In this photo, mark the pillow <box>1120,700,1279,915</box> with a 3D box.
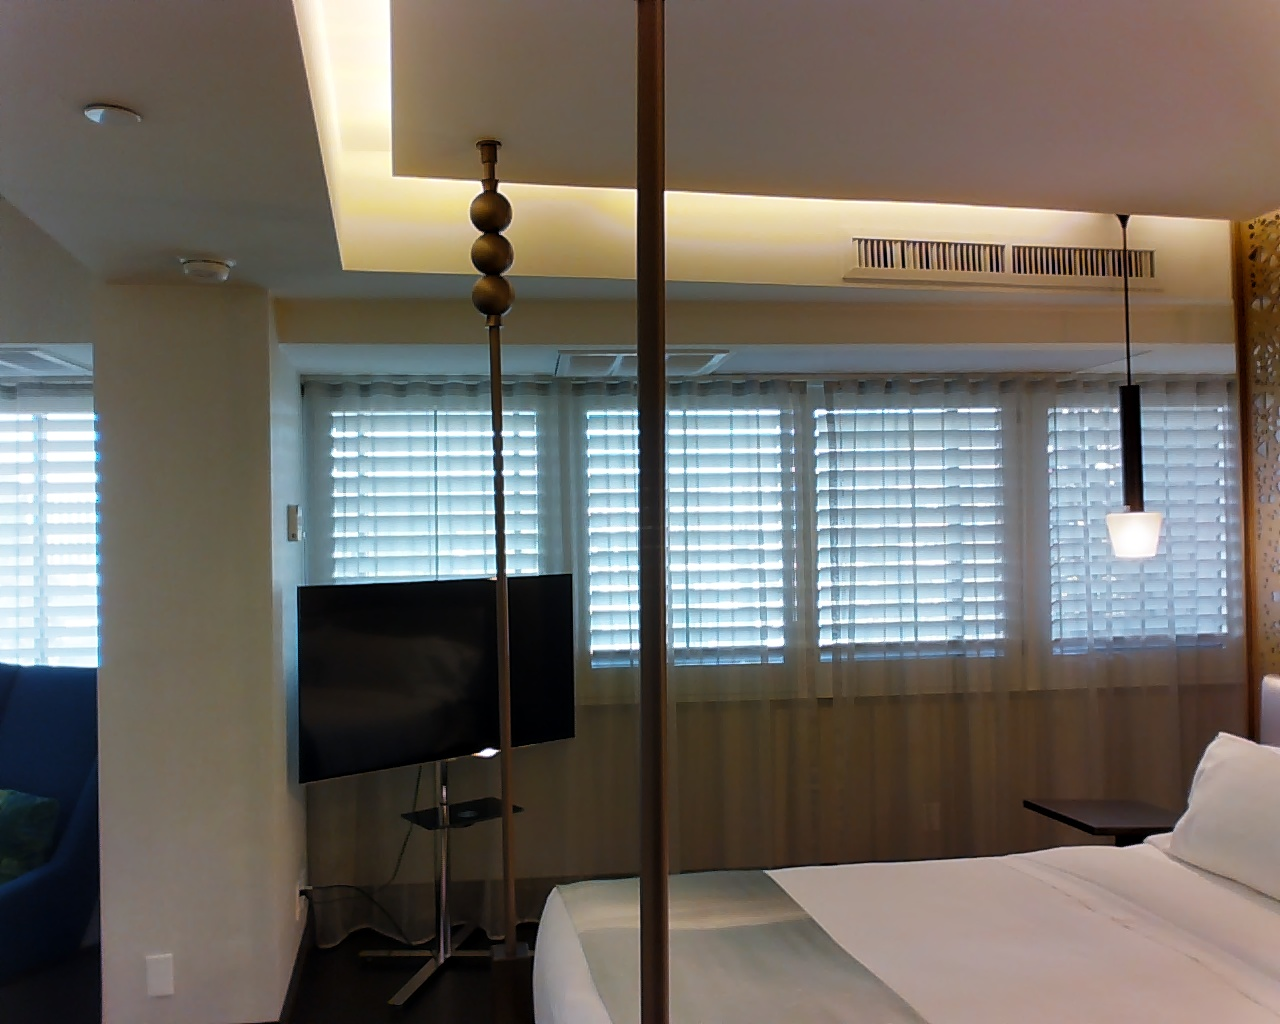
[{"bbox_3d":[1.580,0.720,2.480,0.280,0.380,1.080,-1,0,-12],"label":"pillow"}]

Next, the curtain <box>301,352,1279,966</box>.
[{"bbox_3d":[0.720,0.490,4.150,3.850,2.130,0.370,-1,0,-7],"label":"curtain"}]
